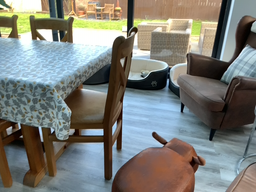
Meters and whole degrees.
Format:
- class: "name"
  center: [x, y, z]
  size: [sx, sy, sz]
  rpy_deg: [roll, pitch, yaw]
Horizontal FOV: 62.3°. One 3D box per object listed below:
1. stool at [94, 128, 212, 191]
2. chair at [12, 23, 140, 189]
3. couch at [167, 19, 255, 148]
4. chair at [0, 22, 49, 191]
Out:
- class: "stool"
  center: [0.150, 0.510, 1.160]
  size: [0.350, 0.370, 0.560]
  rpy_deg: [21, 31, 34]
- class: "chair"
  center: [-0.270, 0.050, 1.440]
  size: [0.590, 0.960, 0.470]
  rpy_deg: [6, 25, 8]
- class: "couch"
  center: [1.010, -0.180, 2.020]
  size: [0.930, 0.960, 0.760]
  rpy_deg: [-3, 26, -12]
- class: "chair"
  center: [-0.890, 0.060, 1.350]
  size: [0.420, 0.960, 0.510]
  rpy_deg: [8, 26, 11]
